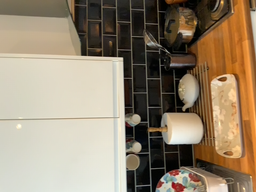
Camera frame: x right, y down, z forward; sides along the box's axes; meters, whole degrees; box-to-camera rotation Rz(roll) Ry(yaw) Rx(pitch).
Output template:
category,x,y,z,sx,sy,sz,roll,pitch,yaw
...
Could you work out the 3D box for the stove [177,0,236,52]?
category,x,y,z,sx,sy,sz,roll,pitch,yaw
stove,0.440,-0.660,1.320,0.570,0.030,0.600,142,128,-77
